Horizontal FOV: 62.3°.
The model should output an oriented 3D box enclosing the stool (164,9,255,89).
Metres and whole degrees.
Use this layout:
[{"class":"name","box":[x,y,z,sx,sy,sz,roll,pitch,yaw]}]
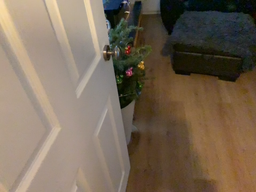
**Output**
[{"class":"stool","box":[0.820,-0.500,2.100,0.780,0.460,0.630,10,44,18]}]
